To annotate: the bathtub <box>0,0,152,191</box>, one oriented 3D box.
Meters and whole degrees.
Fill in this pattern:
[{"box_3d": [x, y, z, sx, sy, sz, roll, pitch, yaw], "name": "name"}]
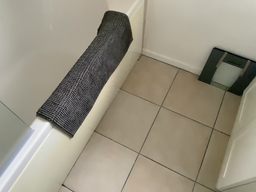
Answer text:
[{"box_3d": [-0.580, 0.100, 1.010, 0.720, 0.560, 1.750, 23, 63, 13], "name": "bathtub"}]
